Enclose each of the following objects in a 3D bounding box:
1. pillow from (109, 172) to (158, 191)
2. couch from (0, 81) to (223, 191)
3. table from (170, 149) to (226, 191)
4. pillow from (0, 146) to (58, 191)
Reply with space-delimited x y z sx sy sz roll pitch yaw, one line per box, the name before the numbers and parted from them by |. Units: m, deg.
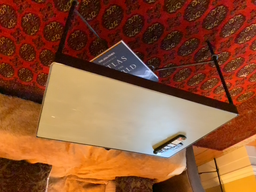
pillow | 0.080 0.920 1.900 0.410 0.370 0.130 3 149 -33
couch | -0.500 0.690 1.920 2.440 0.860 1.060 14 142 -21
table | 0.880 1.030 2.740 0.440 0.510 0.430 12 143 -19
pillow | -0.800 0.630 1.590 0.410 0.370 0.130 -12 158 -36
